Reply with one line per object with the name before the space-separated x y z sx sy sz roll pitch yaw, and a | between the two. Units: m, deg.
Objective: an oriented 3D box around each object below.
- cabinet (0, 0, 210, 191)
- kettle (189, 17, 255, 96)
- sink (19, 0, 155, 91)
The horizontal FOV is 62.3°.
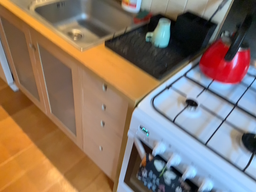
cabinet | -0.270 -0.140 1.410 1.160 0.850 0.580 36 50 24
kettle | 0.420 -0.170 0.860 0.180 0.180 0.260 37 50 25
sink | -0.220 -0.370 1.220 0.490 0.260 0.520 36 50 24
